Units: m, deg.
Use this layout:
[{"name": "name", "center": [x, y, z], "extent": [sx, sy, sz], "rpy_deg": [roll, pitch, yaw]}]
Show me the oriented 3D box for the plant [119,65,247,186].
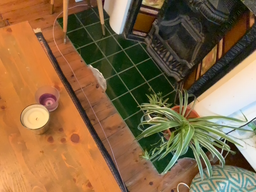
[{"name": "plant", "center": [0.260, 0.190, 1.220], "extent": [0.360, 0.440, 0.480], "rpy_deg": [-26, 74, -23]}]
